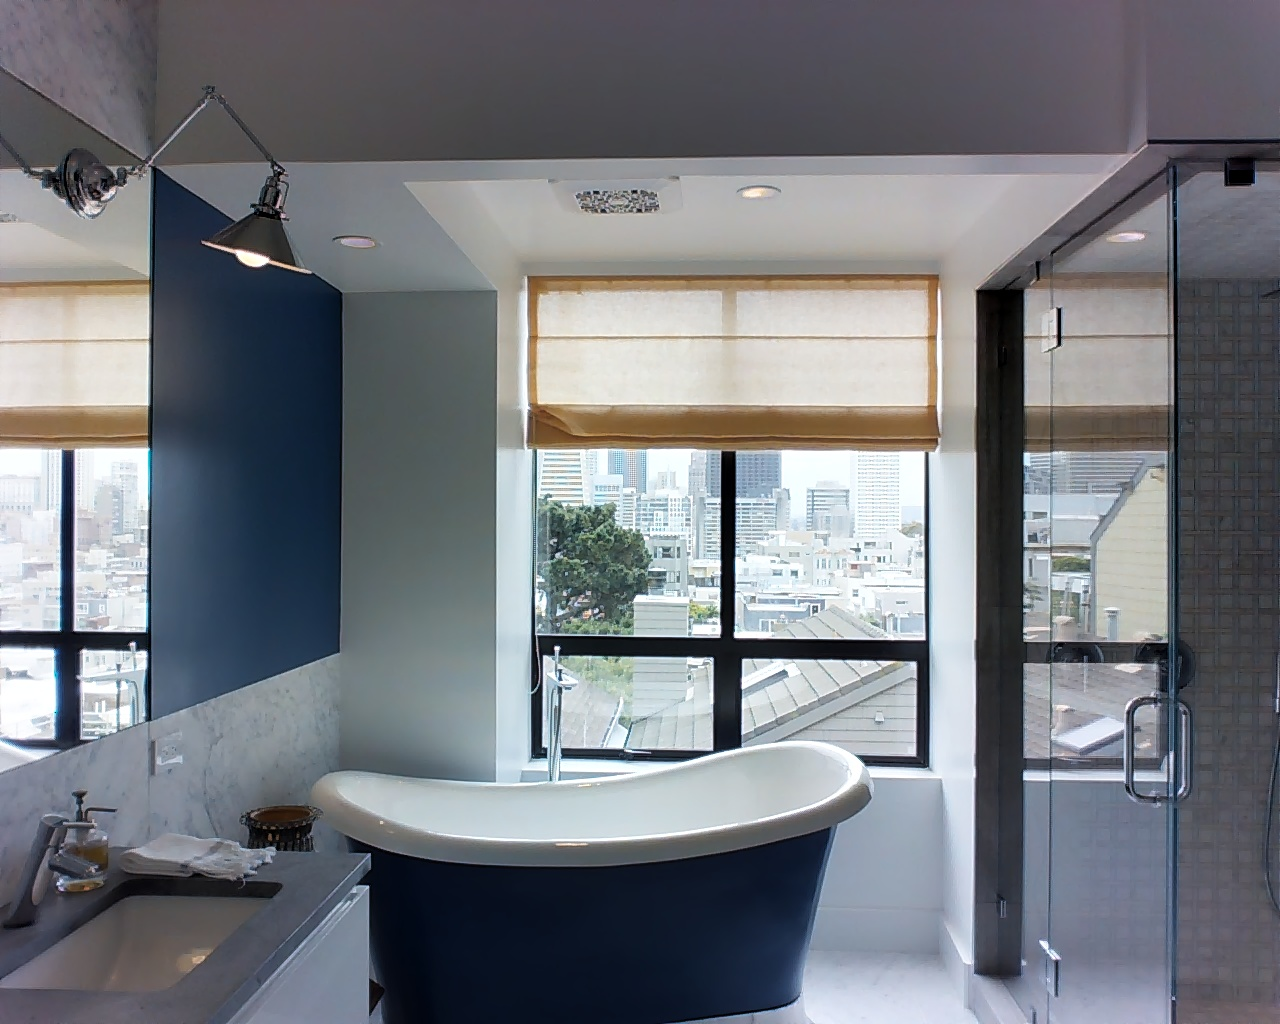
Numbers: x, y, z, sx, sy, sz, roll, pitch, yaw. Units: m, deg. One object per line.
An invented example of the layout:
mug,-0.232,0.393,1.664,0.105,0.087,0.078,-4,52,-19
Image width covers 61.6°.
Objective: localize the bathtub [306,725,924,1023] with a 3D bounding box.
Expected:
bathtub,-0.100,1.110,3.060,1.610,0.810,0.730,1,-1,-16
